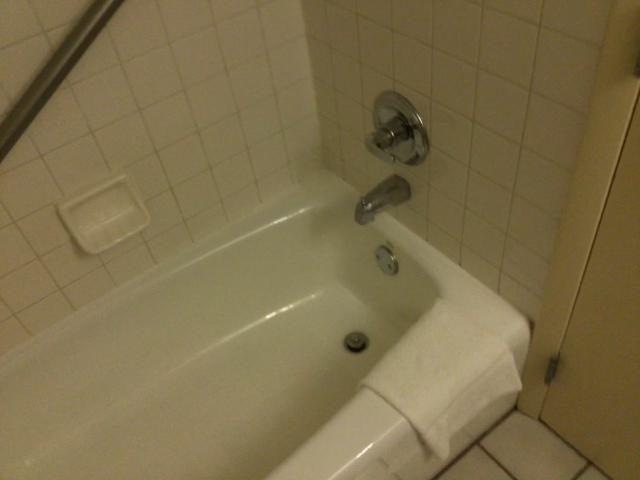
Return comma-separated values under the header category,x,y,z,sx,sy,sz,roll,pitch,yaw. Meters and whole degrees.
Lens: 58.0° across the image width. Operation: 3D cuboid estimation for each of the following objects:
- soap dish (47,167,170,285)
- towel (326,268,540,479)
category,x,y,z,sx,sy,sz,roll,pitch,yaw
soap dish,-0.460,-0.030,1.280,0.190,0.180,0.080,-32,49,-21
towel,0.240,0.300,1.270,0.320,0.230,0.290,-32,49,-21
